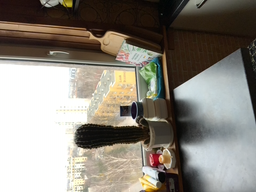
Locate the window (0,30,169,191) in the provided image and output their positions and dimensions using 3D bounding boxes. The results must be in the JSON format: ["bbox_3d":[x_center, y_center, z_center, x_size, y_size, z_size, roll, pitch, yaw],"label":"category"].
[{"bbox_3d":[-0.510,0.180,1.370,0.320,1.420,1.120,131,137,-65],"label":"window"}]
